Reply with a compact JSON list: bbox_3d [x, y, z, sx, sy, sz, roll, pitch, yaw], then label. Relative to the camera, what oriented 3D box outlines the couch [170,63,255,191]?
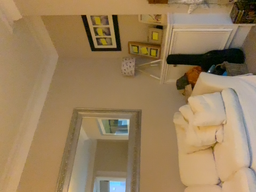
[{"bbox_3d":[0.930,0.810,2.150,0.960,0.750,2.160,86,-174,-57],"label":"couch"}]

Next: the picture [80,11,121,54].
[{"bbox_3d":[-0.400,-0.960,3.310,0.840,0.510,0.050,85,-173,-60],"label":"picture"}]
